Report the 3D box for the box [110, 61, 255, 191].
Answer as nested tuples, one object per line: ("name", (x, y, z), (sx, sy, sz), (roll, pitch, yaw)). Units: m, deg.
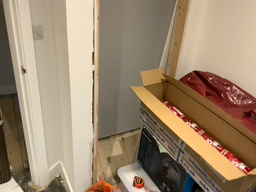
("box", (0.280, 0.150, 1.240), (0.370, 0.410, 1.000), (-10, 30, -28))
